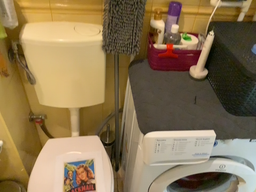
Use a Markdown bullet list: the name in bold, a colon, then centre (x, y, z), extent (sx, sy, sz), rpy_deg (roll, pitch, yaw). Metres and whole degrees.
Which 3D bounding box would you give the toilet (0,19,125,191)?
- **toilet**: centre (-0.260, 0.260, 0.960), extent (0.360, 0.970, 0.620), rpy_deg (0, 42, -8)
